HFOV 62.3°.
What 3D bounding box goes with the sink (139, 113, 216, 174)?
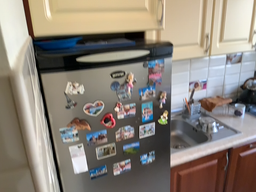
[{"bbox_3d":[0.360,0.340,1.650,0.400,0.190,0.430,-10,21,-22],"label":"sink"}]
